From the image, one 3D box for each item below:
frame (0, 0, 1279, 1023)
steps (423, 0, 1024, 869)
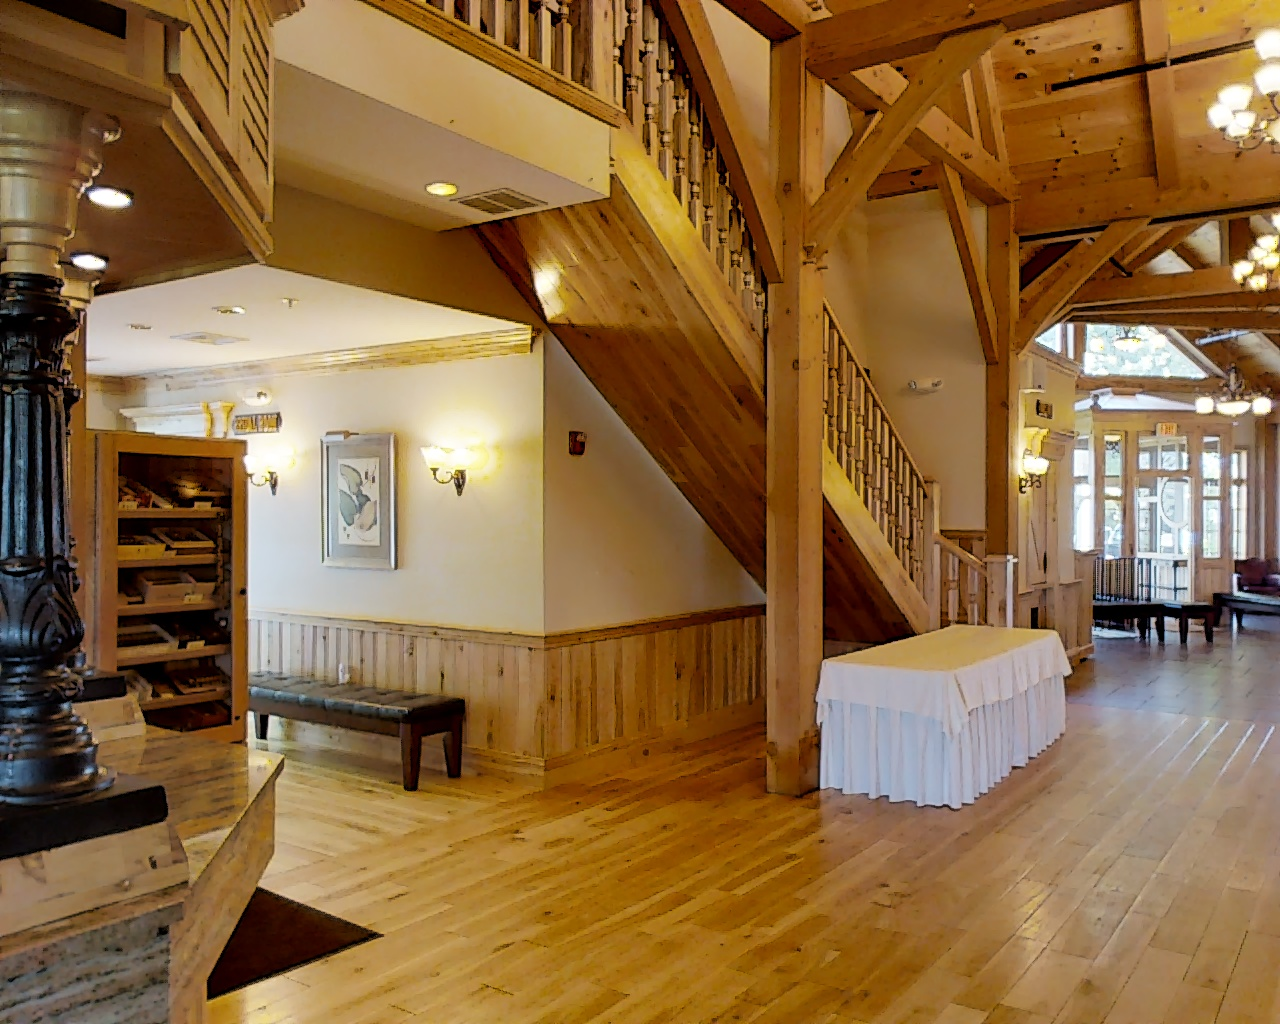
[{"bbox_3d":[2.640,-1.200,4.590,4.600,5.539,8.390,0,0,35],"label":"frame"},{"bbox_3d":[1.100,-0.650,7.380,1.500,4.399,5.590,0,0,35],"label":"steps"}]
